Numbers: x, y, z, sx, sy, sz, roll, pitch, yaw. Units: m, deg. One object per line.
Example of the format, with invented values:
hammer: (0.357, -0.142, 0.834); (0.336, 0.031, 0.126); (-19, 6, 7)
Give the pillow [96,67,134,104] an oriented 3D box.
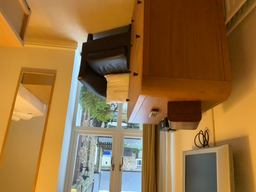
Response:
pillow: (-0.160, -0.130, 2.500); (0.390, 0.370, 0.100); (11, -166, 13)
